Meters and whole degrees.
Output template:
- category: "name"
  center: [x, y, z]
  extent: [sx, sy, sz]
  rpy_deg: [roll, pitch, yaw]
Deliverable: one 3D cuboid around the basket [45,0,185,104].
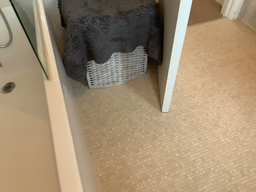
- category: "basket"
  center: [-0.090, -0.380, 1.400]
  extent: [0.690, 0.590, 0.420]
  rpy_deg: [-17, 54, -11]
